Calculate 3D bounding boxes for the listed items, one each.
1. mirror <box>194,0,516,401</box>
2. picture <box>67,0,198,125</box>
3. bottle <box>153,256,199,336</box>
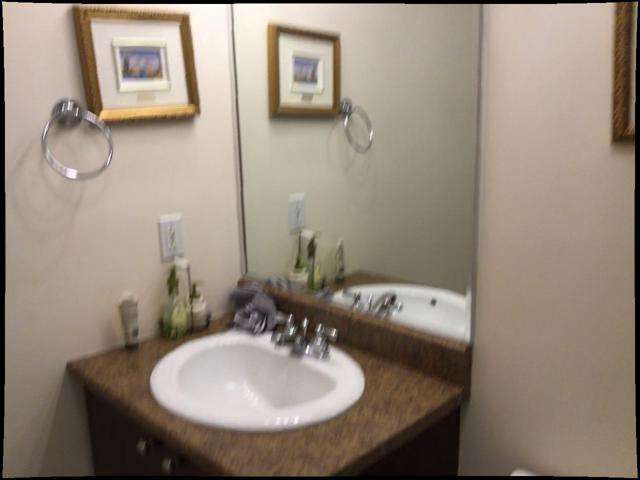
[{"bbox_3d":[0.030,-0.300,1.400,0.810,1.141,0.190,12,19,42],"label":"mirror"},{"bbox_3d":[-0.450,-0.430,1.430,0.050,0.270,0.300,12,19,42],"label":"picture"},{"bbox_3d":[-0.390,0.150,1.570,0.090,0.190,0.070,13,19,42],"label":"bottle"}]
